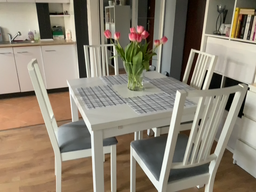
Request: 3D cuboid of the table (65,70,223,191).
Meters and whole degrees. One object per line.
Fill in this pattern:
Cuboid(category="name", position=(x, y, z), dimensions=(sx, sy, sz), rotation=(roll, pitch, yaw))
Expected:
Cuboid(category="table", position=(0.040, 0.280, 1.790), dimensions=(0.920, 0.740, 0.900), rotation=(-8, 23, -22))
